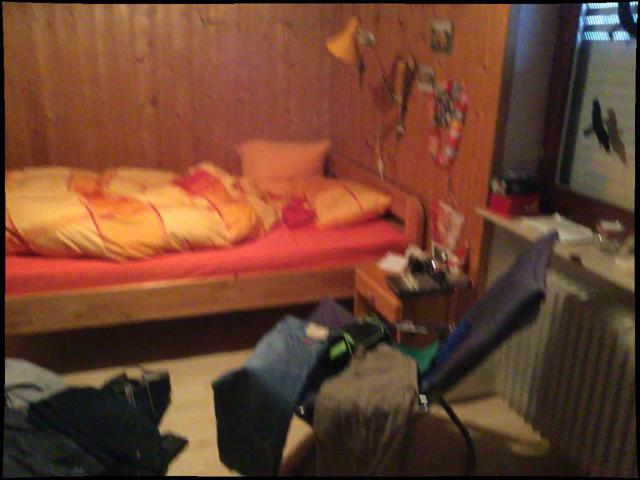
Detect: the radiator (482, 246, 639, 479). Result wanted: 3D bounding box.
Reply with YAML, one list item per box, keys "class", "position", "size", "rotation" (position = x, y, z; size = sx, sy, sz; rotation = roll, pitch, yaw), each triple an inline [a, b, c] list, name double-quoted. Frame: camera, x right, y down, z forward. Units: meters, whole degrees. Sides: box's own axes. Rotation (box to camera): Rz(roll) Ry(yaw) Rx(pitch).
- class: "radiator"
  position: [1.079, 0.621, 1.700]
  size: [0.260, 0.661, 1.660]
  rotation: [-5, 21, -16]
